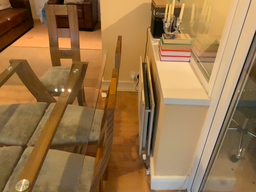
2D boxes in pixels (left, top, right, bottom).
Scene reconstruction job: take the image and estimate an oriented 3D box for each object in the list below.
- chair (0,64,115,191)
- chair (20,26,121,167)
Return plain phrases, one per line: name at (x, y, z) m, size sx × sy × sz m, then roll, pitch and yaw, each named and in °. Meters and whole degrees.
chair at (-0.350, 0.390, 1.140) m, size 0.550 × 1.030 × 0.400 m, roll 1°, pitch 34°, yaw -2°
chair at (-0.340, 0.050, 1.630) m, size 0.550 × 1.030 × 0.400 m, roll 1°, pitch 34°, yaw -2°
